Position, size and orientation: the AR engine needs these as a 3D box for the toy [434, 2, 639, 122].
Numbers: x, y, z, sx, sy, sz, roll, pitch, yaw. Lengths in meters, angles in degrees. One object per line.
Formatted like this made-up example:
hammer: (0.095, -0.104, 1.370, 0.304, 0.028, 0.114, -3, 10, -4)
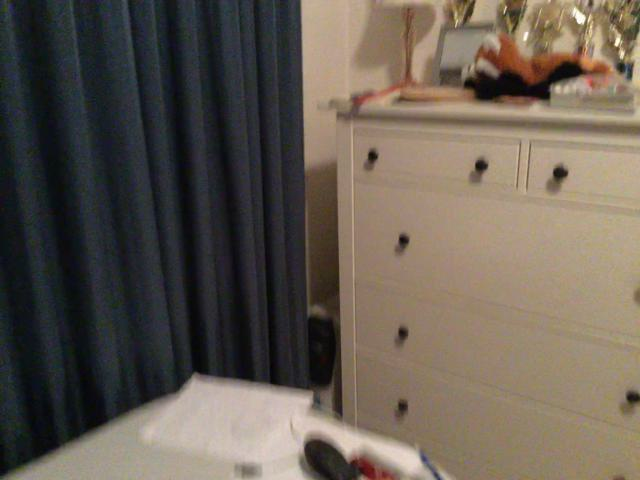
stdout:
toy: (0.530, -0.420, 1.410, 0.430, 0.170, 0.200, -3, 13, 41)
